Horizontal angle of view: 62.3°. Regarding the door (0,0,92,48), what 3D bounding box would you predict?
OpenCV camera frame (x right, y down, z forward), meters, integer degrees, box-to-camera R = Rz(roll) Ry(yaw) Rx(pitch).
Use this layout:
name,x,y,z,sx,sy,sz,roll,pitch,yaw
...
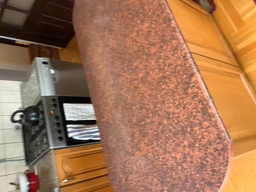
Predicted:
name,x,y,z,sx,sy,sz,roll,pitch,yaw
door,-1.530,-1.050,2.620,0.880,1.980,0.120,-29,67,42
